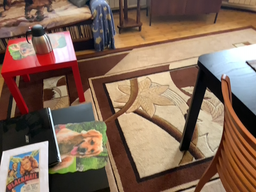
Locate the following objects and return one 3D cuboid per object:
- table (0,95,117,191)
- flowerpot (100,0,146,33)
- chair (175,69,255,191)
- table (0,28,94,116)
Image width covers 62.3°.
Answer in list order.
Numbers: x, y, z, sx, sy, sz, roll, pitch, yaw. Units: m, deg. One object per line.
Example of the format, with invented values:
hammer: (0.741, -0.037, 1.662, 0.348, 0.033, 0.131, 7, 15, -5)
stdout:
table: (-0.390, 0.390, 1.210, 0.550, 0.470, 0.540, -11, 43, -11)
flowerpot: (-0.110, -1.600, 2.850, 0.520, 1.190, 0.730, -10, 43, -10)
chair: (0.550, 0.360, 0.910, 0.450, 0.900, 0.400, -12, 43, -12)
table: (-0.710, -0.250, 1.950, 0.640, 0.430, 0.610, -12, 43, -12)
